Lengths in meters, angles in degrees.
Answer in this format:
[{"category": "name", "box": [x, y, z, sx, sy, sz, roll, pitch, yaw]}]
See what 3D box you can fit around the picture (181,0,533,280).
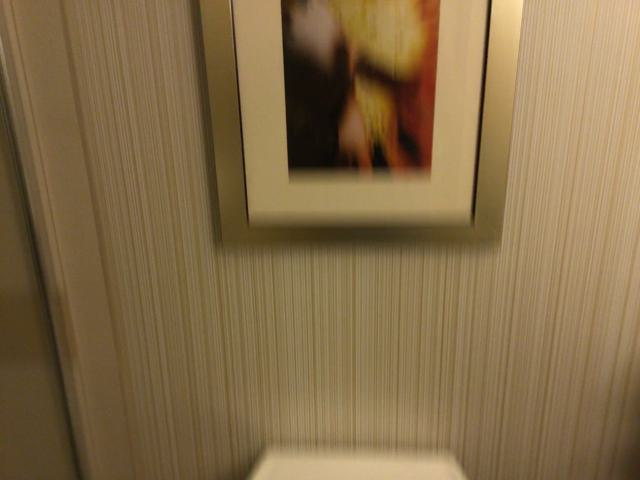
[{"category": "picture", "box": [0.050, -0.270, 0.910, 0.520, 0.690, 0.040, 2, 21, 4]}]
